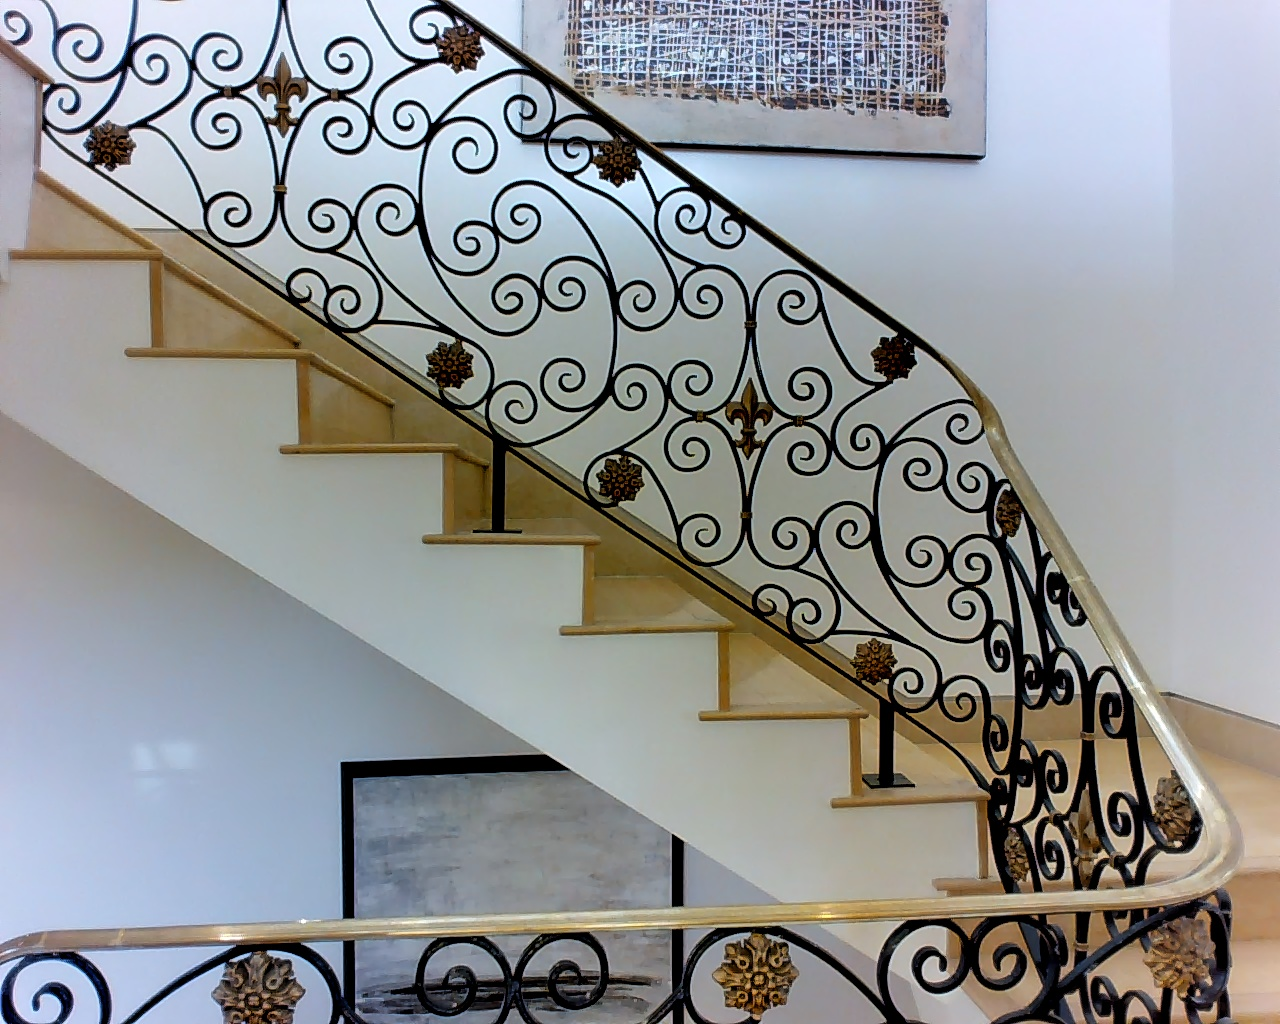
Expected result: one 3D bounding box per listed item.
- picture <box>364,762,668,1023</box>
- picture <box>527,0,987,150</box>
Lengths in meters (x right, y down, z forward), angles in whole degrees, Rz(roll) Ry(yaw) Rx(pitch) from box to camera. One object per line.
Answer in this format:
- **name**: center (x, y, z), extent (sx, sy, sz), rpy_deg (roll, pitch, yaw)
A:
- **picture**: center (-0.390, 1.461, 3.470), extent (0.960, 1.271, 0.070), rpy_deg (0, 1, -6)
- **picture**: center (0.390, -1.731, 3.520), extent (1.509, 1.020, 0.080), rpy_deg (0, 1, -6)
